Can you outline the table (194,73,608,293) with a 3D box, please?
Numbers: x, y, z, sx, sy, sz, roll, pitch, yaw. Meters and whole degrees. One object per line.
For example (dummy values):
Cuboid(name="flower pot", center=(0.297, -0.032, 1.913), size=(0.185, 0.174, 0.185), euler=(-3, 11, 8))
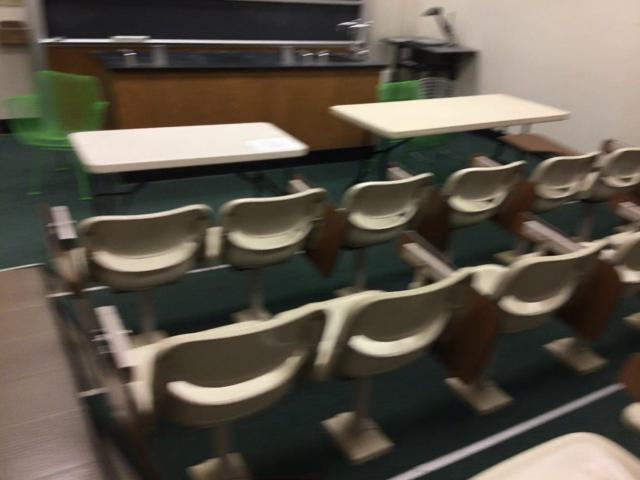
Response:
Cuboid(name="table", center=(0.510, -0.470, 3.680), size=(2.410, 0.980, 0.770), euler=(-8, 27, -21))
